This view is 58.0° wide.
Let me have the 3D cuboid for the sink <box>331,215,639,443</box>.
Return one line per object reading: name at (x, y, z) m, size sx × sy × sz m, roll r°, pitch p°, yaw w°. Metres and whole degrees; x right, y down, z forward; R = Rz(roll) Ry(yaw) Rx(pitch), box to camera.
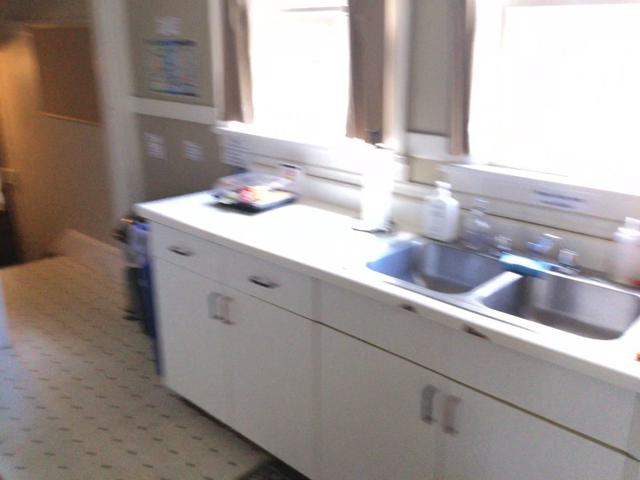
sink at (0.540, 0.160, 1.620) m, size 0.840 × 0.250 × 0.580 m, roll 14°, pitch 20°, yaw 41°
